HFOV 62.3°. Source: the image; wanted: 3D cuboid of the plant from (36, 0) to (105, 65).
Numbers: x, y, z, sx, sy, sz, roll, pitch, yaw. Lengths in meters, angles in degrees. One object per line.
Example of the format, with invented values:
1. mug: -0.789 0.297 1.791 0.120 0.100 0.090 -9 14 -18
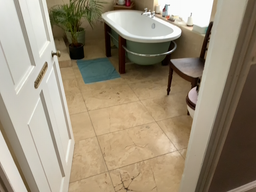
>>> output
1. plant: -0.860 -1.100 3.250 0.820 0.960 0.620 -10 35 -15

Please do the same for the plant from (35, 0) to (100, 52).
1. plant: -1.030 -1.310 3.700 0.910 0.760 0.680 -11 35 -15

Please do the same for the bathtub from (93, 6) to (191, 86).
1. bathtub: 0.080 -0.890 3.270 0.830 0.600 1.690 -12 35 -17

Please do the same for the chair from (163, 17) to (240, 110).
1. chair: 0.720 -0.350 2.250 0.470 0.810 0.440 -12 35 -17
